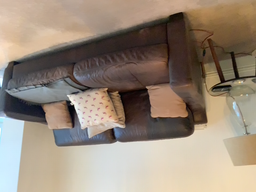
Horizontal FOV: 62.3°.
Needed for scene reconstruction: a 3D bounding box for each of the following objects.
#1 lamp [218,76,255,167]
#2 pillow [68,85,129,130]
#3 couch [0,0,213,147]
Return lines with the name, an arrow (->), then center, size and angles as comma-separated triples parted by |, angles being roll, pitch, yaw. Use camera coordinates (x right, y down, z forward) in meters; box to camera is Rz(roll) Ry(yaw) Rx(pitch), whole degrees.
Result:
lamp -> 1.040, 0.230, 1.810 | 0.400, 0.690, 0.400 | -9, 163, 22
pillow -> -0.280, 0.140, 2.110 | 0.430, 0.330, 0.420 | -9, 163, 22
couch -> -0.260, 0.030, 2.230 | 1.960, 0.860, 1.150 | -9, 162, 24
